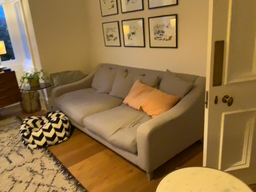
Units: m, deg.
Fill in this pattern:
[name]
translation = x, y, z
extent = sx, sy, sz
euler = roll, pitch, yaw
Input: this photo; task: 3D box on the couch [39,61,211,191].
[couch]
translation = -0.200, 0.100, 2.750
extent = 1.040, 0.750, 2.100
euler = -19, 24, -37
